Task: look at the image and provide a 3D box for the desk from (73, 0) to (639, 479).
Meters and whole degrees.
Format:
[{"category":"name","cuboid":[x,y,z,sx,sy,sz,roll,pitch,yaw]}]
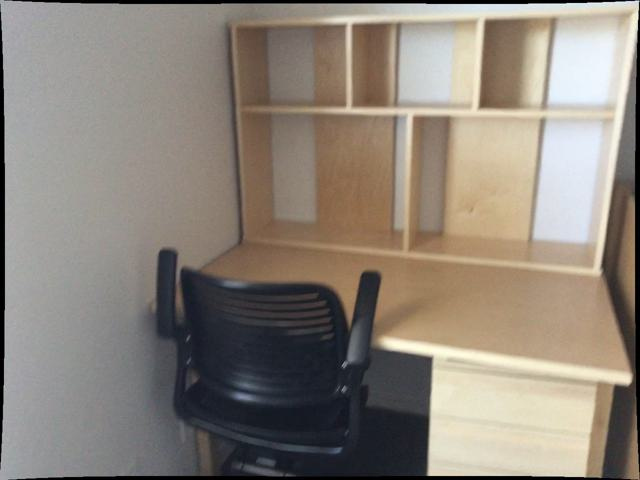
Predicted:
[{"category":"desk","cuboid":[0.230,0.140,1.780,1.328,1.582,0.910,3,19,17]}]
